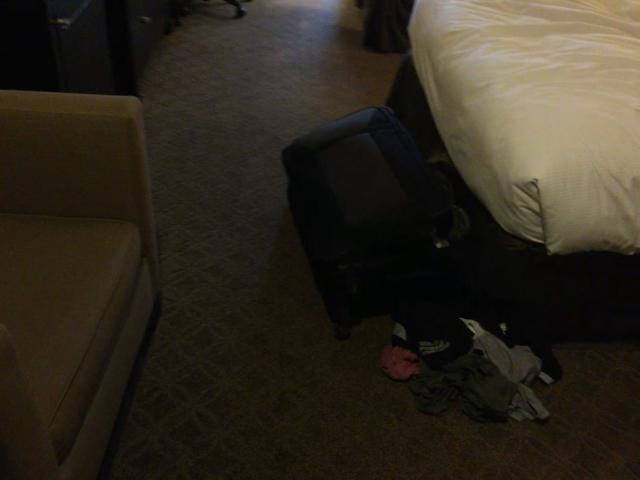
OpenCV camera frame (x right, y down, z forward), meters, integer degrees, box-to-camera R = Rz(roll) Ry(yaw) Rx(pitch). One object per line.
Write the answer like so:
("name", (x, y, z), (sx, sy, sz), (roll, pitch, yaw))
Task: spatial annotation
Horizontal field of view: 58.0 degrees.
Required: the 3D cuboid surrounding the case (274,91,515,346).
("case", (0.170, -0.100, 1.880), (0.600, 0.420, 0.770), (3, 39, -4))
